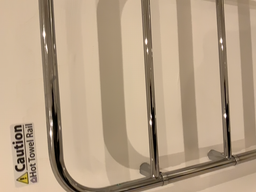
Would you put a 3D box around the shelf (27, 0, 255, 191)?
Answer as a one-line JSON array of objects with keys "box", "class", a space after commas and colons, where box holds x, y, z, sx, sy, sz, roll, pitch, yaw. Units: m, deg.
[{"box": [0.290, -0.040, 0.660, 0.020, 1.070, 0.670, 180, 87, -65], "class": "shelf"}]
